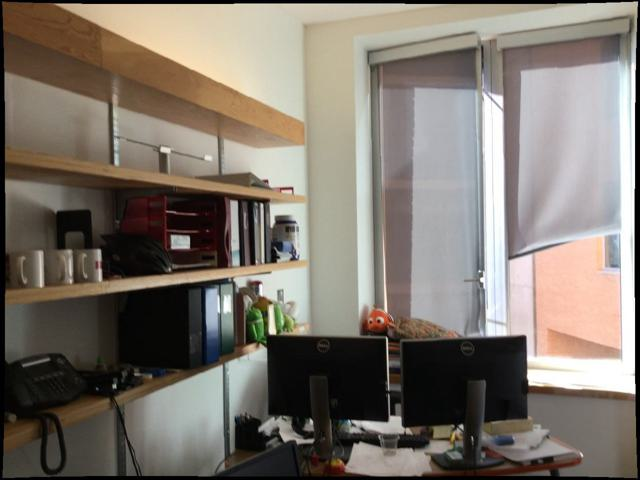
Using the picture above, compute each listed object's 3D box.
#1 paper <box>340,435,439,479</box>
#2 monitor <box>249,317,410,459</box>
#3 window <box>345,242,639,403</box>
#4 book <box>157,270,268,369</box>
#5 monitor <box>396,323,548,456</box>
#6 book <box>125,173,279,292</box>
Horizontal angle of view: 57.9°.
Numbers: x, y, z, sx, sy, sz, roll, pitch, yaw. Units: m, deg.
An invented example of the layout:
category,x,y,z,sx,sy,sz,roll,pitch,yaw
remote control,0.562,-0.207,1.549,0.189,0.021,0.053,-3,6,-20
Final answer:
category,x,y,z,sx,sy,sz,roll,pitch,yaw
paper,0.280,0.881,2.340,0.370,0.050,0.310,1,2,7
monitor,0.040,0.611,2.490,0.649,0.480,0.240,1,2,20
window,1.139,0.460,3.770,1.838,0.841,0.630,1,2,21
book,-0.420,0.300,2.370,0.180,0.310,0.560,1,2,21
monitor,0.619,0.611,2.400,0.579,0.501,0.170,0,2,-3
book,-0.480,-0.040,2.530,0.340,0.440,0.700,1,2,21
